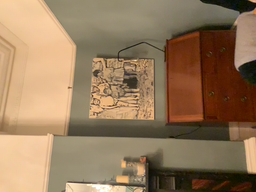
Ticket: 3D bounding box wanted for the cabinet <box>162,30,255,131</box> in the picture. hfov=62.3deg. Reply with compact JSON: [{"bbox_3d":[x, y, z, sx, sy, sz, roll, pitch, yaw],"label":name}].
[{"bbox_3d":[0.860,-0.140,2.260,0.470,0.950,0.950,70,-159,-75],"label":"cabinet"}]
